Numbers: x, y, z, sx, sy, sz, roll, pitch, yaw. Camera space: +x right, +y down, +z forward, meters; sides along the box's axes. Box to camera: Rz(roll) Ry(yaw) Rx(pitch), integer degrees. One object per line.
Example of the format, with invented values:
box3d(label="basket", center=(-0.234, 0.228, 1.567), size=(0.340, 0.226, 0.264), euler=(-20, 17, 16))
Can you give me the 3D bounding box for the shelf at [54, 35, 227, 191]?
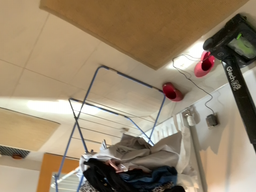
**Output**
box3d(label="shelf", center=(0.080, 0.230, 1.290), size=(0.790, 0.780, 0.470), euler=(23, 138, -32))
